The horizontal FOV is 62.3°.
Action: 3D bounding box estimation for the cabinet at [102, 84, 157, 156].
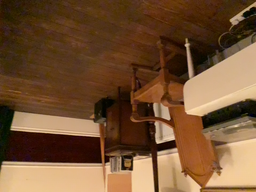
[{"bbox_3d":[0.000,0.400,3.210,0.600,0.910,0.550,11,155,-29],"label":"cabinet"}]
